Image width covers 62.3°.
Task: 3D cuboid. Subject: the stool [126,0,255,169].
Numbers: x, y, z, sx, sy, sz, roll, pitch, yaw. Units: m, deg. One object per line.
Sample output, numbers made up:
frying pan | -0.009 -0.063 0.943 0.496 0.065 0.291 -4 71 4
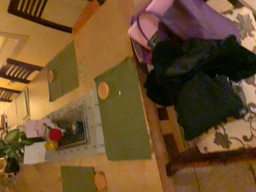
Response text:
stool | 0.470 -0.070 1.080 0.450 0.730 0.670 -24 73 45
